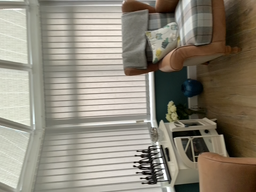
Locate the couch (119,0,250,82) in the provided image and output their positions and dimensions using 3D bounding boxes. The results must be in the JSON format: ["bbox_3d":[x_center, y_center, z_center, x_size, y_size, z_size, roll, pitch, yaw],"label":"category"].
[{"bbox_3d":[0.450,-0.720,2.170,0.870,0.980,0.980,141,127,-81],"label":"couch"}]

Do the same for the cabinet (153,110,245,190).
[{"bbox_3d":[0.670,0.550,2.230,0.460,0.640,0.630,95,170,-45],"label":"cabinet"}]
